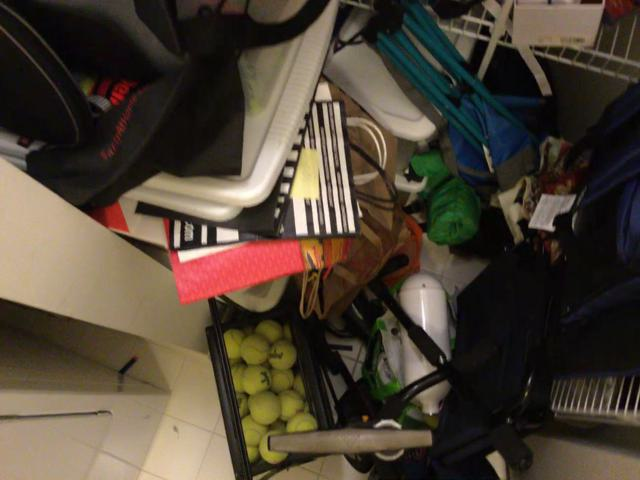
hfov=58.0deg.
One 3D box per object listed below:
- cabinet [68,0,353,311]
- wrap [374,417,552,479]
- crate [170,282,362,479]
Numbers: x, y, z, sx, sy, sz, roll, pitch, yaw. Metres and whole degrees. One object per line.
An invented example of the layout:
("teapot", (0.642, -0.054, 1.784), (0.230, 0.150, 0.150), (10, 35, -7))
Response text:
("cabinet", (-0.120, -0.140, 0.940), (0.230, 0.390, 0.430), (18, -14, 9))
("wrap", (0.260, 0.620, 1.280), (0.290, 0.350, 0.420), (18, -14, 9))
("crate", (-0.110, 0.360, 1.380), (0.300, 0.370, 0.340), (-21, -16, -2))
